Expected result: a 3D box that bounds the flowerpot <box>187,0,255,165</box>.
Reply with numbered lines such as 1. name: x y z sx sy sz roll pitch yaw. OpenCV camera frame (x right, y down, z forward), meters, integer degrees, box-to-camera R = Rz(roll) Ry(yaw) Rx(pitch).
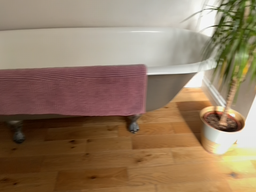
1. flowerpot: 0.600 -0.110 1.170 0.290 1.020 0.360 -4 35 -5
